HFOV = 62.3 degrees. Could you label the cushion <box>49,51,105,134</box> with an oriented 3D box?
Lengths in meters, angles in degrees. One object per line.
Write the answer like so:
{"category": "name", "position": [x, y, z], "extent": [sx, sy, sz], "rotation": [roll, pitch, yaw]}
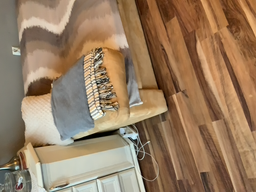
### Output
{"category": "cushion", "position": [-0.340, 0.000, 1.320], "extent": [0.440, 0.100, 0.370], "rotation": [-31, 68, 45]}

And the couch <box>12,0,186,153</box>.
{"category": "couch", "position": [-0.440, -0.690, 1.830], "extent": [1.090, 0.720, 2.070], "rotation": [-27, 70, 46]}
